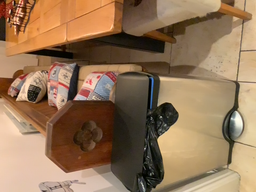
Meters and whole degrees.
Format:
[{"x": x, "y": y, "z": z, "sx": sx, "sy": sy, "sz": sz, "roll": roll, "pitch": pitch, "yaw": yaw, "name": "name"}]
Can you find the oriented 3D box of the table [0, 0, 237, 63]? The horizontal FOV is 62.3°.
[{"x": -0.600, "y": -0.820, "z": 2.100, "sx": 2.970, "sy": 0.790, "sz": 0.850, "roll": 10, "pitch": 97, "yaw": 52, "name": "table"}]
